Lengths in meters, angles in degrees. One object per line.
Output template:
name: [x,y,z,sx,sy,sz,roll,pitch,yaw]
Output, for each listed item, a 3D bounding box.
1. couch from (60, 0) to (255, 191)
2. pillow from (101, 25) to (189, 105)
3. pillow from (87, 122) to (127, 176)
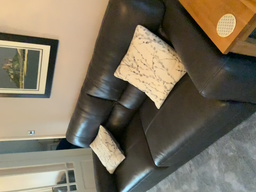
couch: [0.020,0.200,2.110,2.300,0.940,1.030,-60,38,43]
pillow: [0.140,-0.200,1.590,0.500,0.450,0.180,-23,54,15]
pillow: [-0.270,0.620,2.470,0.540,0.240,0.400,-59,38,44]
